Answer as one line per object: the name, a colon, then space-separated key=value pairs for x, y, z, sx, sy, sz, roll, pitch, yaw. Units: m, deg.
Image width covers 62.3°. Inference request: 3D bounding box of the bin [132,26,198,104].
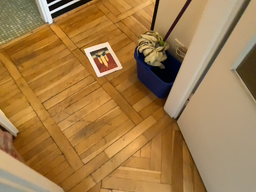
bin: x=0.220 y=-0.200 z=1.410 sx=0.190 sy=0.300 sz=0.370 roll=-28 pitch=65 yaw=-19
